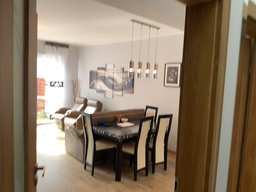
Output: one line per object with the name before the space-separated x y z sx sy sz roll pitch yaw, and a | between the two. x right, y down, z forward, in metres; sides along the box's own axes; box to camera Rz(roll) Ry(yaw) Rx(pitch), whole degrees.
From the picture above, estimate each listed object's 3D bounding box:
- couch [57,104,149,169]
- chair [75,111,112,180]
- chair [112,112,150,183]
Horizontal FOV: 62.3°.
couch | -0.500 0.760 4.780 1.850 0.970 0.930 -3 7 -45
chair | -0.600 0.820 3.680 0.490 1.040 0.380 -1 7 -37
chair | 0.040 0.850 3.650 0.490 1.040 0.380 7 7 44
